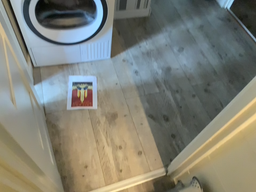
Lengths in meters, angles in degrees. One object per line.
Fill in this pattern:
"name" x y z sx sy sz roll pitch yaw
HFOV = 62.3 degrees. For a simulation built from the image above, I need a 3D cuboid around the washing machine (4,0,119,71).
"washing machine" -0.450 -0.670 1.460 0.630 0.800 0.510 -11 59 -16
